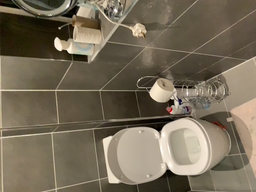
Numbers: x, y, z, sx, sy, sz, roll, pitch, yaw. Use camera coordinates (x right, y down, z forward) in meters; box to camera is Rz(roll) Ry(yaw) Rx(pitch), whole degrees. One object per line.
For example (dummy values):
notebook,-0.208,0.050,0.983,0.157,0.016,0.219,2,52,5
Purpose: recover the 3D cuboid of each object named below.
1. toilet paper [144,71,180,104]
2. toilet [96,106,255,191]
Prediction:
toilet paper,0.210,-0.050,1.340,0.130,0.140,0.170,-34,62,54
toilet,0.290,0.360,1.490,0.660,0.790,0.380,-34,62,54
